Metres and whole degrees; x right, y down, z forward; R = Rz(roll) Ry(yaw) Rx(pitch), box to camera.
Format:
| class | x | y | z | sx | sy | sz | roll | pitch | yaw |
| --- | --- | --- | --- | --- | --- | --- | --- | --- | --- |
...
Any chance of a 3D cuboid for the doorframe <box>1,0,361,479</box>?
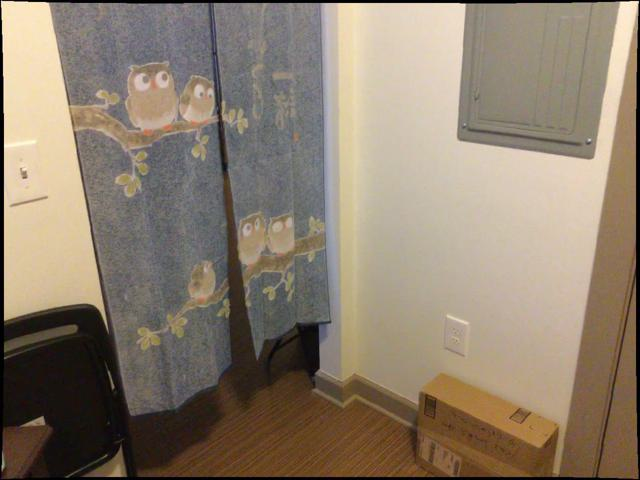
| class | x | y | z | sx | sy | sz | roll | pitch | yaw |
| --- | --- | --- | --- | --- | --- | --- | --- | --- | --- |
| doorframe | -0.259 | -0.200 | 1.620 | 0.170 | 2.004 | 0.929 | 19 | 31 | 40 |

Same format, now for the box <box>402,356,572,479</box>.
| class | x | y | z | sx | sy | sz | roll | pitch | yaw |
| --- | --- | --- | --- | --- | --- | --- | --- | --- | --- |
| box | 0.499 | 0.611 | 1.800 | 0.460 | 0.291 | 0.180 | 19 | 31 | 40 |

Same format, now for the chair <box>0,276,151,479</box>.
| class | x | y | z | sx | sy | sz | roll | pitch | yaw |
| --- | --- | --- | --- | --- | --- | --- | --- | --- | --- |
| chair | -0.658 | 0.391 | 1.320 | 0.120 | 0.471 | 0.460 | 19 | 31 | 40 |
